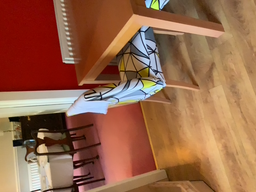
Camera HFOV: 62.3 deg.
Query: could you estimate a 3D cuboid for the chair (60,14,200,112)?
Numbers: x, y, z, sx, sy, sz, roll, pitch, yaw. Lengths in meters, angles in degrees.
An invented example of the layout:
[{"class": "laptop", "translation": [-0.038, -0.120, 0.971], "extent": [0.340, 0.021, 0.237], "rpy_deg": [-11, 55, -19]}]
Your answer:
[{"class": "chair", "translation": [0.020, -0.210, 1.590], "extent": [0.410, 0.890, 0.480], "rpy_deg": [-34, 65, 53]}]
